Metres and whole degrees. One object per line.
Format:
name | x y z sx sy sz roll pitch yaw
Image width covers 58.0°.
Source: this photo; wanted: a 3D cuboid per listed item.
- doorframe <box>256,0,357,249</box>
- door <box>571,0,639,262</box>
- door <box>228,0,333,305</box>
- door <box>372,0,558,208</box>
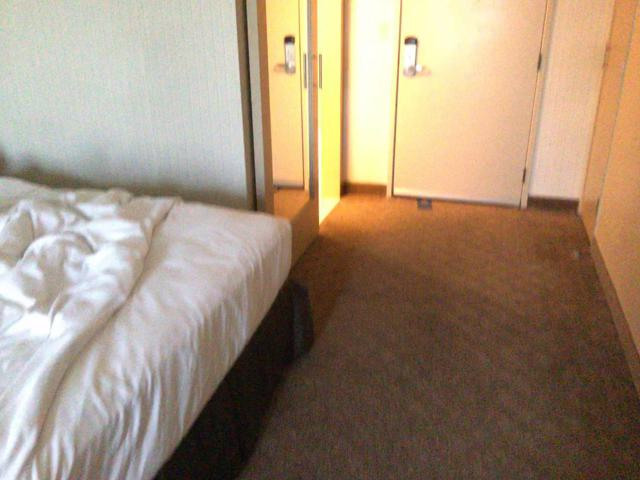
doorframe | -0.040 -1.120 3.590 0.300 2.100 1.030 6 23 16
door | 1.620 -1.020 3.210 0.050 2.160 0.770 6 23 16
door | -0.150 -0.770 2.900 0.160 1.940 0.990 6 23 16
door | 0.910 -1.210 3.750 1.090 1.970 0.160 6 23 16
